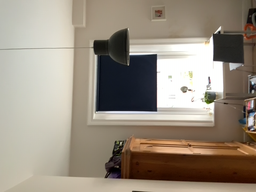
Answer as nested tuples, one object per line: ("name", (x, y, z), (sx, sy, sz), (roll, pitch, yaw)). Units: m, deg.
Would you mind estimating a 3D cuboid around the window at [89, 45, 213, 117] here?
("window", (0.380, -0.260, 3.700), (0.120, 2.080, 1.220), (49, -139, -84))
